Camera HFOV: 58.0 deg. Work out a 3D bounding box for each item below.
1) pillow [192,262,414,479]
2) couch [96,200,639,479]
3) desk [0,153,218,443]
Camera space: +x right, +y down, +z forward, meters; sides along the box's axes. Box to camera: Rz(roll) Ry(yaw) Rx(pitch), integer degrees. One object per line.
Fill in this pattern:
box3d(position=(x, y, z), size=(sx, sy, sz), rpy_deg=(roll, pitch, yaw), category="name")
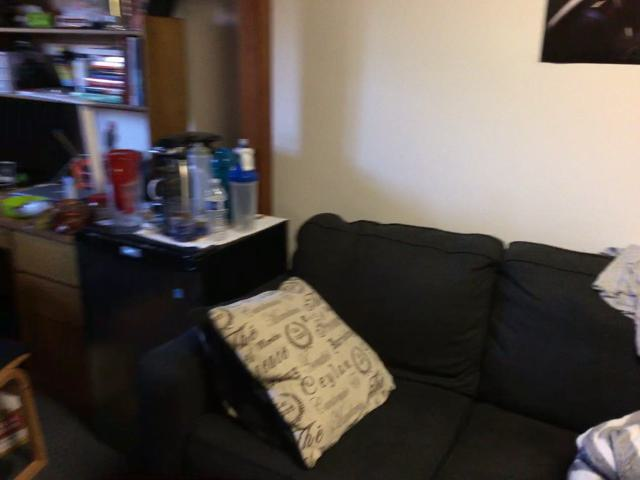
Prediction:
box3d(position=(-0.020, 0.310, 1.580), size=(0.380, 0.320, 0.520), rpy_deg=(8, 18, 28), category="pillow")
box3d(position=(0.630, 0.530, 1.460), size=(2.130, 0.900, 1.000), rpy_deg=(8, 18, 28), category="couch")
box3d(position=(-1.180, 0.140, 2.510), size=(1.300, 0.890, 0.630), rpy_deg=(8, 18, 28), category="desk")
